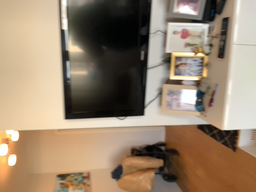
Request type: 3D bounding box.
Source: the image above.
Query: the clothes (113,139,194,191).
[{"bbox_3d":[0.380,1.220,3.820,1.040,1.150,0.470,-142,52,-75],"label":"clothes"}]

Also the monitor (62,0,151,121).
[{"bbox_3d":[-0.120,-0.230,1.280,0.050,0.490,0.770,-129,38,-68],"label":"monitor"}]
